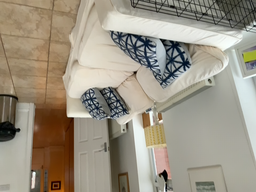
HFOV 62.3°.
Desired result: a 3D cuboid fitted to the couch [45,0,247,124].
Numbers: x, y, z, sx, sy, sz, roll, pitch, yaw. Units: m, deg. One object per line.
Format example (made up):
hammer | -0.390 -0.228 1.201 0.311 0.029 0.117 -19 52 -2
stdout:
couch | -0.220 -0.330 1.970 0.990 0.740 2.060 2 160 -21
